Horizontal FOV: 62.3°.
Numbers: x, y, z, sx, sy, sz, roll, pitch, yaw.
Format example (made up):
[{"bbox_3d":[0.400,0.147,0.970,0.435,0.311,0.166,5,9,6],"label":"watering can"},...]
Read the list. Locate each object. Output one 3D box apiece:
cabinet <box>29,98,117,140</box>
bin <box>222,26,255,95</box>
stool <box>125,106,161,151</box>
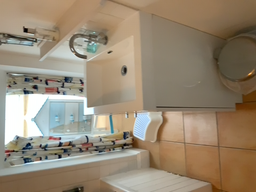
[{"bbox_3d":[-0.570,0.230,2.350,0.200,0.930,0.390,-3,86,53],"label":"cabinet"},{"bbox_3d":[0.720,-0.180,1.190,0.200,0.300,0.310,-12,79,53],"label":"bin"},{"bbox_3d":[0.140,0.310,2.080,0.250,0.130,0.350,39,119,47],"label":"stool"}]
